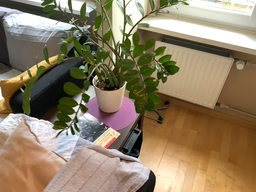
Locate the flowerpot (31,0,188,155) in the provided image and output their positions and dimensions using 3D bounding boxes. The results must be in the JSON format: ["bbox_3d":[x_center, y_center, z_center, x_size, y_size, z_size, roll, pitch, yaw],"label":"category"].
[{"bbox_3d":[-0.060,-0.330,1.060,0.590,1.240,0.420,17,42,14],"label":"flowerpot"}]

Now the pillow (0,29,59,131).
[{"bbox_3d":[-0.700,-0.090,1.480,0.170,0.400,0.590,21,69,-6],"label":"pillow"}]
